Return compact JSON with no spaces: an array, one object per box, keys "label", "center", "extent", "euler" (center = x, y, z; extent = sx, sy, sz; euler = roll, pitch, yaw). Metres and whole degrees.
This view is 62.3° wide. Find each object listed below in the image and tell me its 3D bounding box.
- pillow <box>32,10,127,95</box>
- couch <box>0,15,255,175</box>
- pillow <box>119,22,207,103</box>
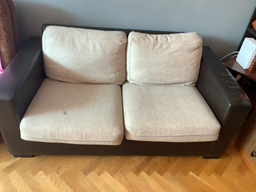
[{"label":"pillow","center":[-0.380,-0.340,1.740],"extent":[0.620,0.480,0.160],"euler":[-18,5,3]},{"label":"couch","center":[-0.060,-0.050,1.740],"extent":[1.640,0.760,1.030],"euler":[3,38,-4]},{"label":"pillow","center":[0.290,-0.280,1.810],"extent":[0.620,0.510,0.230],"euler":[-13,13,3]}]
